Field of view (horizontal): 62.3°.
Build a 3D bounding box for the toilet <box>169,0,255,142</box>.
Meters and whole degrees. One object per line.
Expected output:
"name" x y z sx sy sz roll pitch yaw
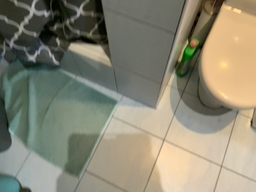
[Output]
"toilet" 0.550 -0.220 0.990 0.380 0.780 0.630 24 71 10
